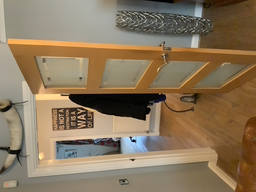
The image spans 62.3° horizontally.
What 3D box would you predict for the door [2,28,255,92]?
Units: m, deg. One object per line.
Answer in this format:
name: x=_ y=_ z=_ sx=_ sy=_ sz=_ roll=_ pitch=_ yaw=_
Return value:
door: x=0.210 y=-0.210 z=1.770 sx=0.760 sy=2.040 sz=0.110 roll=130 pitch=138 yaw=-67
